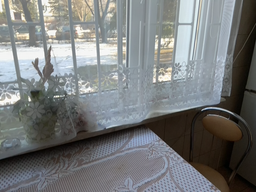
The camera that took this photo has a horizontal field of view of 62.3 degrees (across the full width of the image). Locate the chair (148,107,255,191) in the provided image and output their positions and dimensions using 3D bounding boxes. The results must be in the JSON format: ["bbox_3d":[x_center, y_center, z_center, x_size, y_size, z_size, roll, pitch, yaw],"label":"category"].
[{"bbox_3d":[0.410,0.550,1.290,0.430,0.810,0.370,-13,26,-34],"label":"chair"}]
